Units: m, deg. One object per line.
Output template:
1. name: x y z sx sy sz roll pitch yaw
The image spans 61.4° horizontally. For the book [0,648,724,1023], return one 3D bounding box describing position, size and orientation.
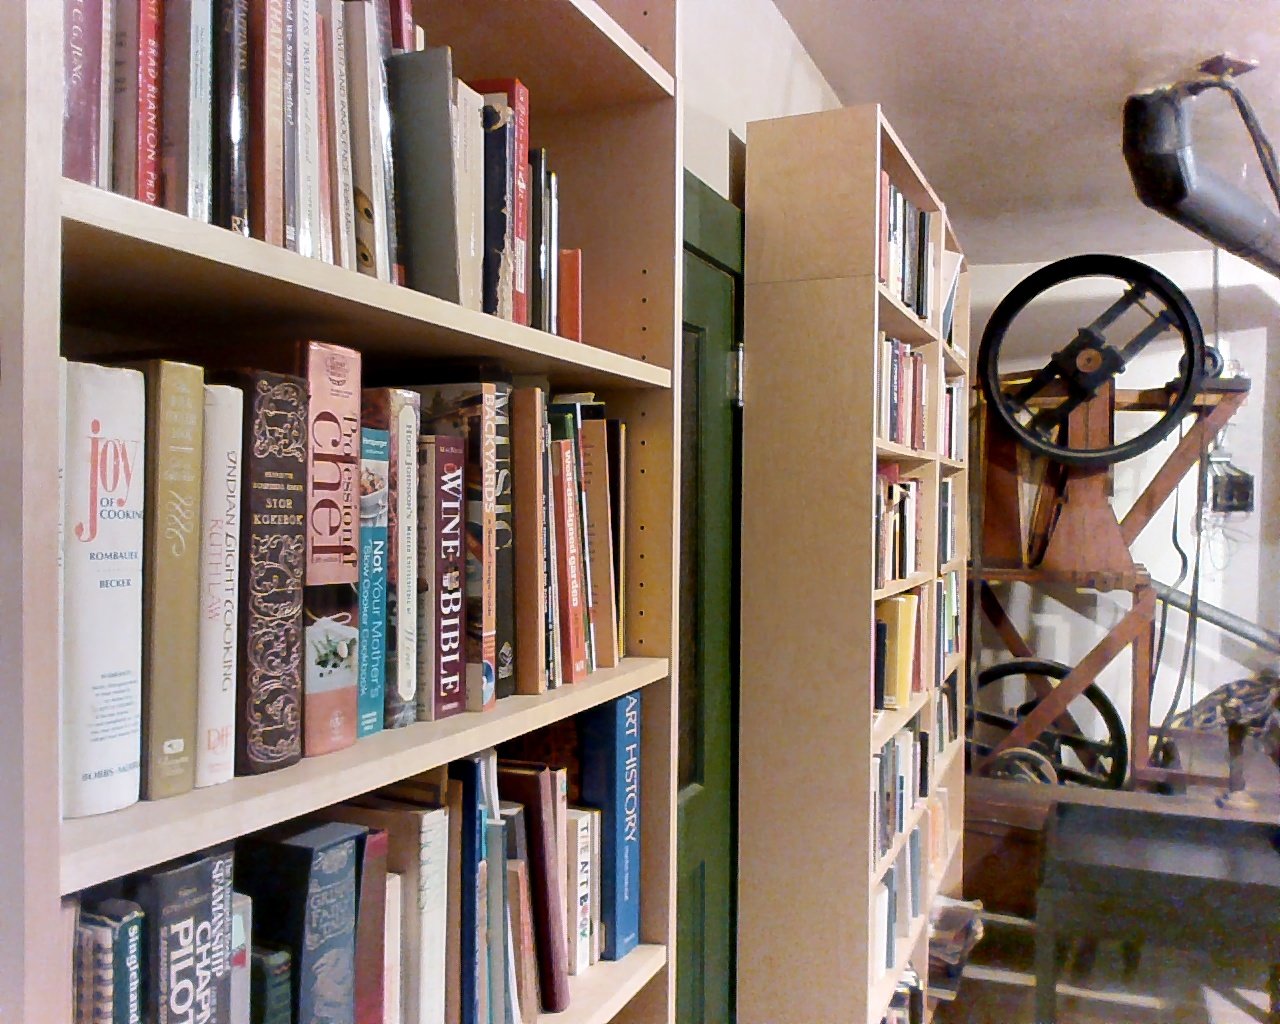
1. book: -0.210 0.330 0.920 0.290 0.310 0.850 1 0 24
